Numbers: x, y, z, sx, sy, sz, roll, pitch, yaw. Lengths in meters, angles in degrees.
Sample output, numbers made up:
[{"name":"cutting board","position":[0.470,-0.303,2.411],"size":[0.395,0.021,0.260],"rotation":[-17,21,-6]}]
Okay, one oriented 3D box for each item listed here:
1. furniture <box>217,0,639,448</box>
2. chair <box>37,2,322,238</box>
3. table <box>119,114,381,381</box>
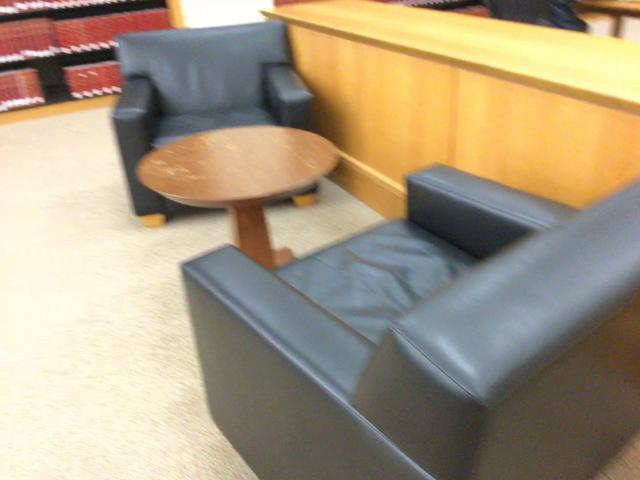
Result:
[{"name":"furniture","position":[0.650,-0.440,2.380],"size":[0.860,0.900,3.660],"rotation":[-17,32,-23]},{"name":"chair","position":[-0.650,-0.660,2.890],"size":[1.080,0.800,0.910],"rotation":[-10,30,-11]},{"name":"table","position":[-0.250,-0.030,2.110],"size":[0.690,0.580,0.660],"rotation":[-17,32,-23]}]
